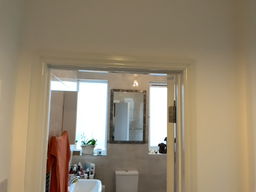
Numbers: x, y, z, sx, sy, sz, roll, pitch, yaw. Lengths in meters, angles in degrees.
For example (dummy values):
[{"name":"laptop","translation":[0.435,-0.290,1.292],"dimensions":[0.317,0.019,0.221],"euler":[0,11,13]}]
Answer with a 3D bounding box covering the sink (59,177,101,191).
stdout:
[{"name":"sink","translation":[-0.570,1.180,2.610],"dimensions":[0.460,0.180,0.560],"euler":[2,-5,-9]}]
